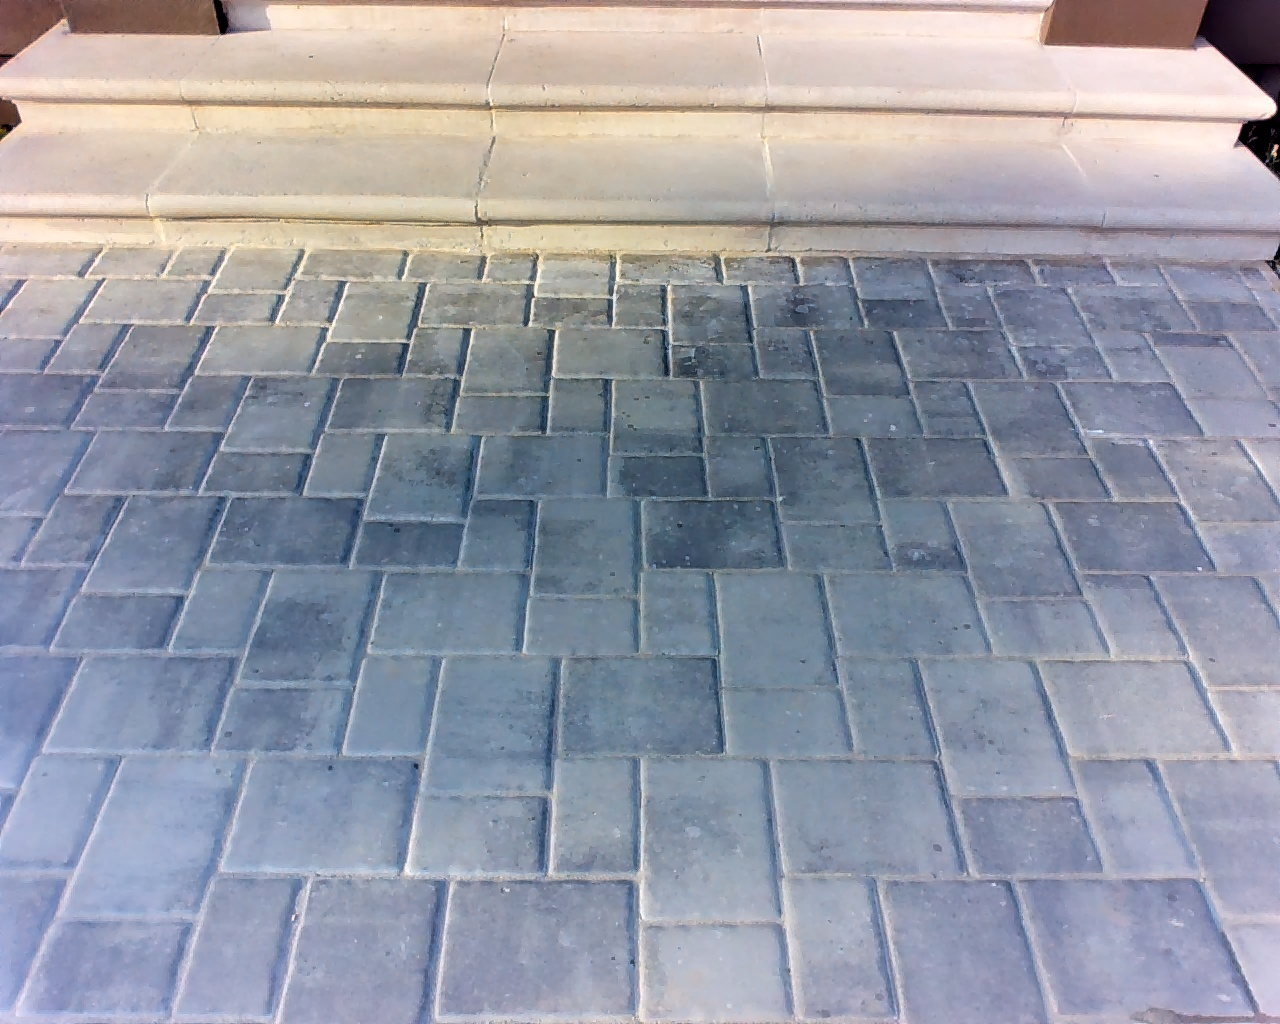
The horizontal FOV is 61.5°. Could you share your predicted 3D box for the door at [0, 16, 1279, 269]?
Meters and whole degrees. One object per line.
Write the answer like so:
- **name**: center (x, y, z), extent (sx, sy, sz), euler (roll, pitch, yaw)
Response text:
- **door**: center (0.010, -1.150, 3.280), extent (3.890, 0.380, 0.880), euler (0, 42, 0)
